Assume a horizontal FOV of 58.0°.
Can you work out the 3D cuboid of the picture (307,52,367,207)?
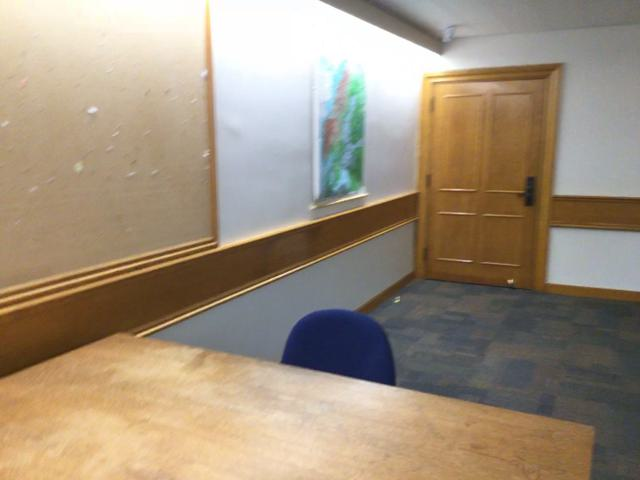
[{"bbox_3d":[0.140,-0.740,3.950,0.090,0.930,0.850,2,10,22],"label":"picture"}]
